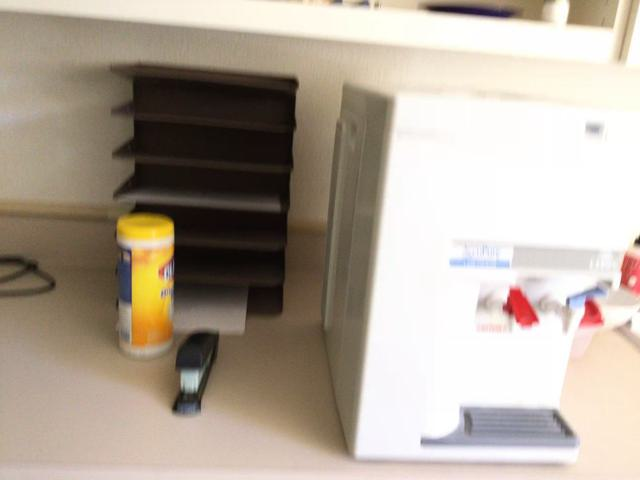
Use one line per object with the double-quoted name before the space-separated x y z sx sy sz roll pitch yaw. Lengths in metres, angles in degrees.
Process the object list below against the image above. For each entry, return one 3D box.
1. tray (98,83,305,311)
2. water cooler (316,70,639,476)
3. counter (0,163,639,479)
"tray" -0.220 -0.090 1.120 0.340 0.370 0.220 5 17 -5
"water cooler" 0.200 0.010 0.840 0.350 0.450 0.400 5 17 -5
"counter" 0.010 0.140 0.970 3.030 0.290 0.700 5 17 -5
